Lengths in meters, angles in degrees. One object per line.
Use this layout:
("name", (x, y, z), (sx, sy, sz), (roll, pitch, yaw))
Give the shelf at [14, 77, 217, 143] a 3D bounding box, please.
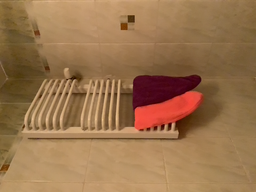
("shelf", (-0.060, 0.060, 1.210), (0.410, 0.960, 0.140), (-90, 0, -53))
